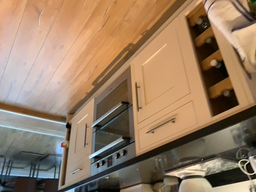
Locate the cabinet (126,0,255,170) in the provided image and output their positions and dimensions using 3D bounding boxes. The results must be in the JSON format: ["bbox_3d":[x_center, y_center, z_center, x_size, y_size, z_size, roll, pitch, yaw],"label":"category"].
[{"bbox_3d":[0.410,-0.050,1.430,0.610,0.910,0.530,18,143,-31],"label":"cabinet"}]
